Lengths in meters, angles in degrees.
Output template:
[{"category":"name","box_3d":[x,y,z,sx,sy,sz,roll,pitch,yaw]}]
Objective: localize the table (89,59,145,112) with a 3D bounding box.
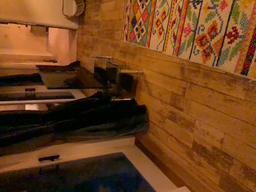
[{"category":"table","box_3d":[-0.190,-0.170,2.670,0.900,0.310,0.430,33,120,56]}]
